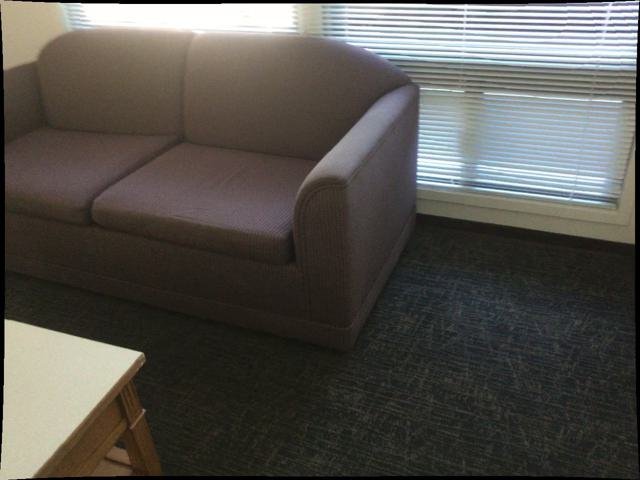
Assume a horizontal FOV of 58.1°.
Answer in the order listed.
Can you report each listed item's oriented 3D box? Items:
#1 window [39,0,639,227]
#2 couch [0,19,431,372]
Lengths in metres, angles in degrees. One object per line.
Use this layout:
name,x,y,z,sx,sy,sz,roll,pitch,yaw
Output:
window,-0.010,-1.132,1.980,2.417,1.992,0.290,9,36,19
couch,-0.579,-0.300,2.200,1.787,0.781,0.930,9,36,19
